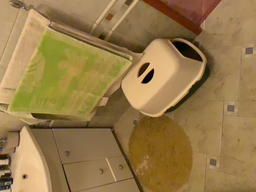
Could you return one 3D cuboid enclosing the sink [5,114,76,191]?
[{"bbox_3d":[-0.570,0.590,1.350,0.510,0.160,0.810,-51,52,27],"label":"sink"}]
